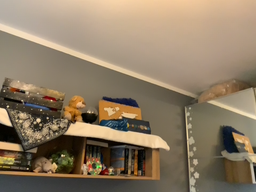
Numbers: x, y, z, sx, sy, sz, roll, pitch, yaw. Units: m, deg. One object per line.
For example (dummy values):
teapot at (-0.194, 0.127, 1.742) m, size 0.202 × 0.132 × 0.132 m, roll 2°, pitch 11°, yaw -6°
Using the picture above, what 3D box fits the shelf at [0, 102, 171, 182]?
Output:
shelf at (-0.320, 0.370, 1.450) m, size 1.350 × 0.360 × 0.360 m, roll 16°, pitch -24°, yaw -32°
